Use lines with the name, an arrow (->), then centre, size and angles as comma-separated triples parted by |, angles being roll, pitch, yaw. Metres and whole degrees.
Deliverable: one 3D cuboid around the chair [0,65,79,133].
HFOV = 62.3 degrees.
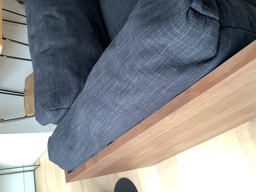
chair -> -0.940, 0.060, 1.960 | 0.420, 0.840, 0.530 | -12, 77, 49
